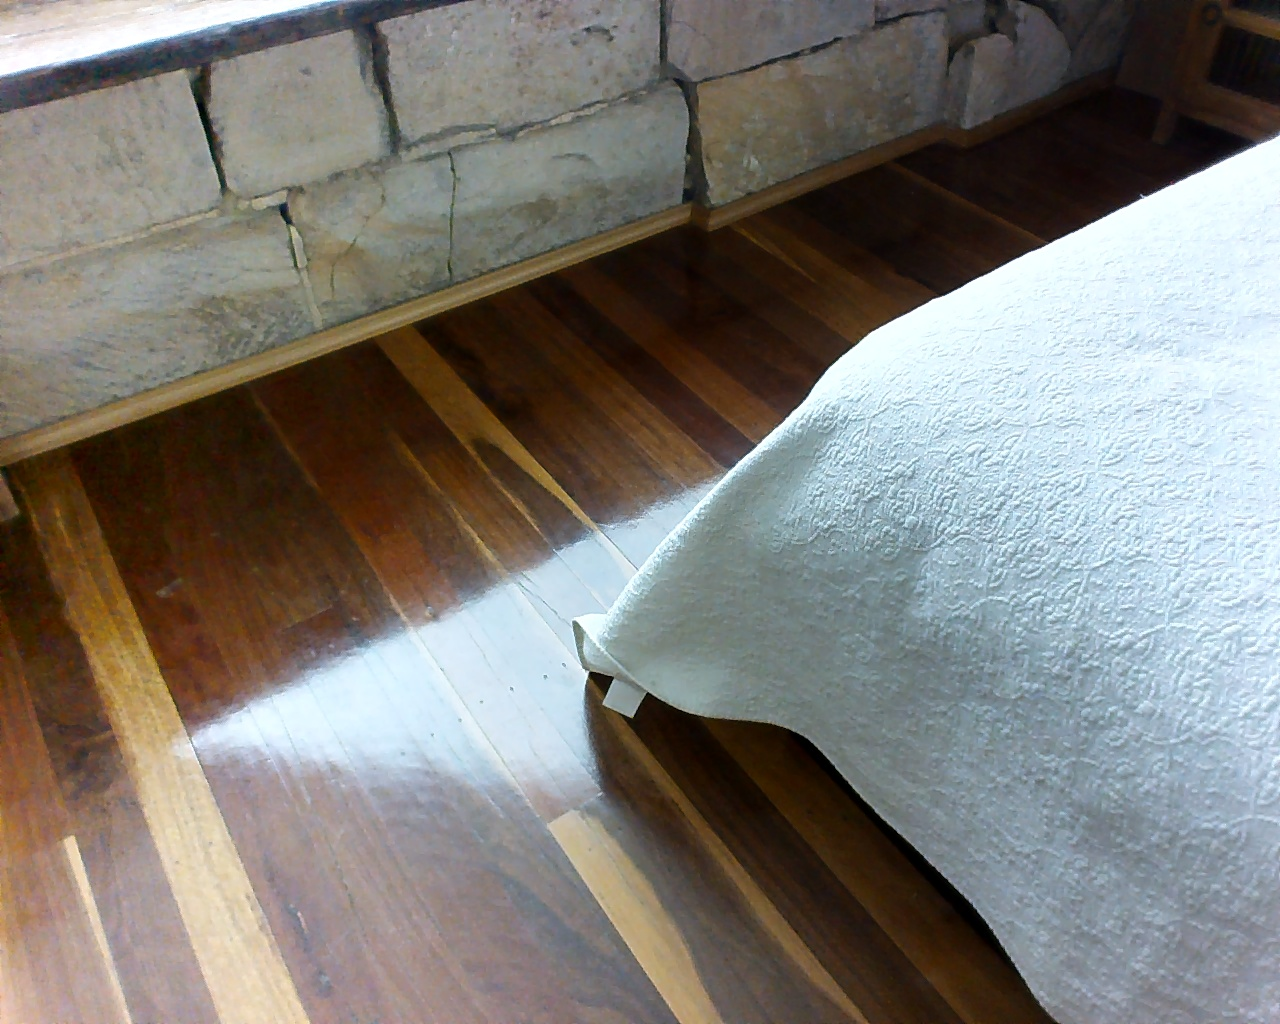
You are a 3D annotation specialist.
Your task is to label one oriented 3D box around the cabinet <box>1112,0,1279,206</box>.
[{"bbox_3d":[1.410,-1.070,2.300,0.320,0.650,0.510,-26,47,-23],"label":"cabinet"}]
